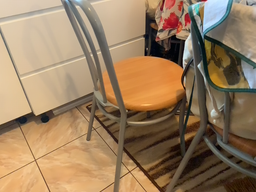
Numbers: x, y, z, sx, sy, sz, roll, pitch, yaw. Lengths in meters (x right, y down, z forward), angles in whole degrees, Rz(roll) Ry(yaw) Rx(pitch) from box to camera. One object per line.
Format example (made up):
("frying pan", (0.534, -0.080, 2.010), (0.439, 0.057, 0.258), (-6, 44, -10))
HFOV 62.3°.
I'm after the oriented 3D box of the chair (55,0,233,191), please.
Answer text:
("chair", (0.030, -0.050, 0.900), (0.440, 0.810, 0.390), (-19, 42, -21))
